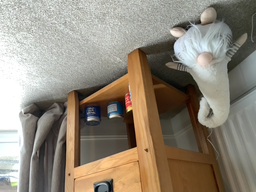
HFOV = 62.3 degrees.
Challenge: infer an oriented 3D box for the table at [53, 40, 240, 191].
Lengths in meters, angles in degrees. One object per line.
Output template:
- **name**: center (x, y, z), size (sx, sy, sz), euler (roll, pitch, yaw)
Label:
- **table**: center (0.070, 0.240, 0.960), size (0.530, 0.590, 0.570), euler (-27, 147, 35)
